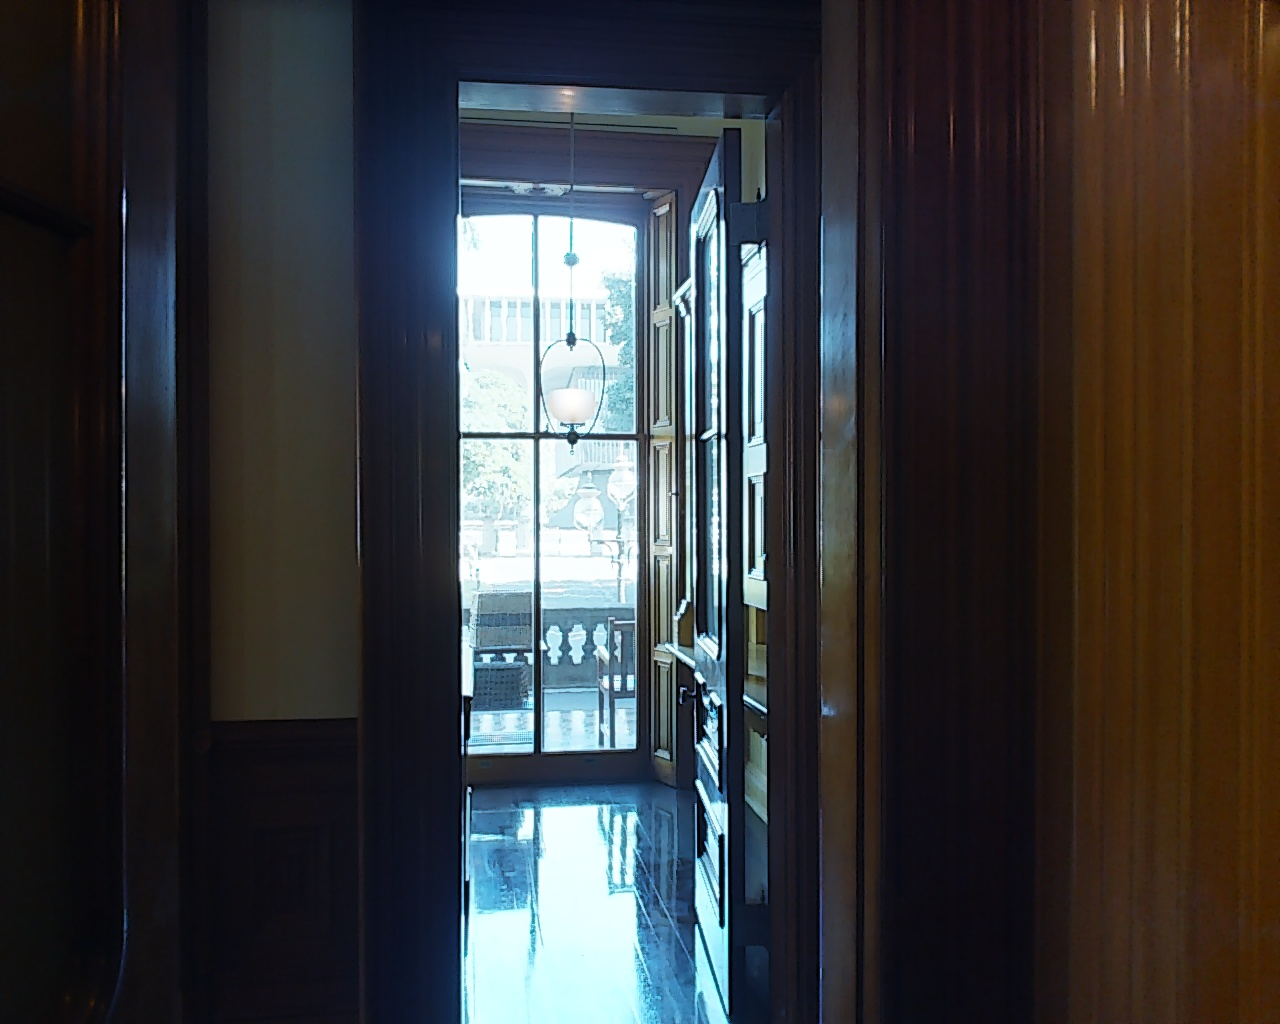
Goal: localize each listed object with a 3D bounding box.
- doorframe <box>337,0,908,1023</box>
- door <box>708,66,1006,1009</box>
[{"bbox_3d":[-0.030,0.000,2.940,1.530,2.970,0.150,0,1,-9],"label":"doorframe"},{"bbox_3d":[0.650,0.080,3.280,0.870,2.810,0.120,0,1,2],"label":"door"}]
